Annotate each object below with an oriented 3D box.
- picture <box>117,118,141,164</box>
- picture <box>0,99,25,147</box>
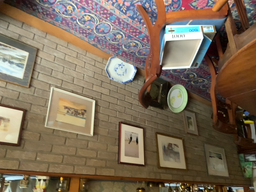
[{"bbox_3d":[0.020,0.510,2.380,0.310,0.460,0.040,20,150,-38],"label":"picture"},{"bbox_3d":[-0.970,0.180,1.550,0.350,0.330,0.020,20,150,-37],"label":"picture"}]
